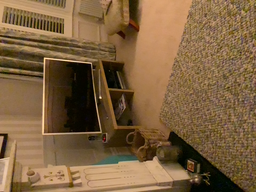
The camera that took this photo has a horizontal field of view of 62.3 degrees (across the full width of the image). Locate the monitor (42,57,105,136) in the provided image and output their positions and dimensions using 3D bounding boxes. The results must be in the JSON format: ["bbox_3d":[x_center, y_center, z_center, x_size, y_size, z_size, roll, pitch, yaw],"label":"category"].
[{"bbox_3d":[-0.670,-0.020,2.540,0.060,0.650,1.050,-56,39,46],"label":"monitor"}]

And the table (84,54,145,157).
[{"bbox_3d":[-0.250,0.100,2.870,0.640,0.400,1.220,-61,35,41],"label":"table"}]
